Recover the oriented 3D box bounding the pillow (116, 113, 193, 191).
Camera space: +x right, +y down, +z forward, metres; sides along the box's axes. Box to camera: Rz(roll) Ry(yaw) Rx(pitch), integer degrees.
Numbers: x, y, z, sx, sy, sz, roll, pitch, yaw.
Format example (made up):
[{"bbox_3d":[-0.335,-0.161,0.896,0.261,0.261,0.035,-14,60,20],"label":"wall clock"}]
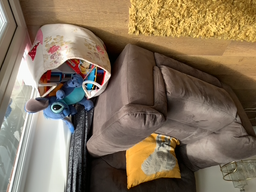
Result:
[{"bbox_3d":[0.200,0.430,1.510,0.500,0.410,0.200,27,139,-25],"label":"pillow"}]
